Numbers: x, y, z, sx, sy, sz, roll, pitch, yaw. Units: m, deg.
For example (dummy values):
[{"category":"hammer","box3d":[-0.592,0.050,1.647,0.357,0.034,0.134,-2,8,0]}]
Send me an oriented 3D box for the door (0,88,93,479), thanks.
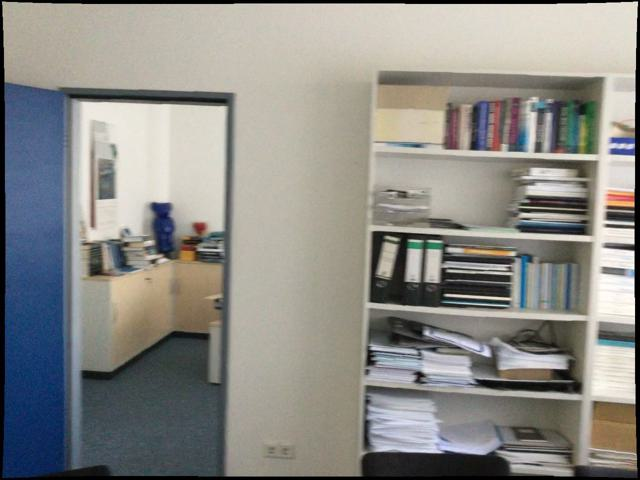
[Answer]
[{"category":"door","box3d":[-1.489,0.240,2.820,0.150,1.882,0.680,7,6,40]}]
